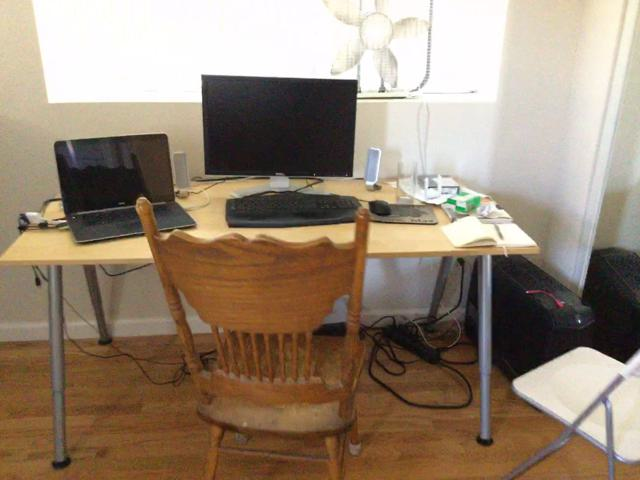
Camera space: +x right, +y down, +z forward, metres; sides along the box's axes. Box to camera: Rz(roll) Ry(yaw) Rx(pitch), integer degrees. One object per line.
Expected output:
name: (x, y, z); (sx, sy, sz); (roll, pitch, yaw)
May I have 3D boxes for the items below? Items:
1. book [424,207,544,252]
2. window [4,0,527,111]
book: (0.520, -0.040, 1.880); (0.300, 0.060, 0.260); (-1, 20, -5)
window: (-0.180, -1.050, 2.260); (1.900, 1.020, 0.410); (-1, 20, -5)
